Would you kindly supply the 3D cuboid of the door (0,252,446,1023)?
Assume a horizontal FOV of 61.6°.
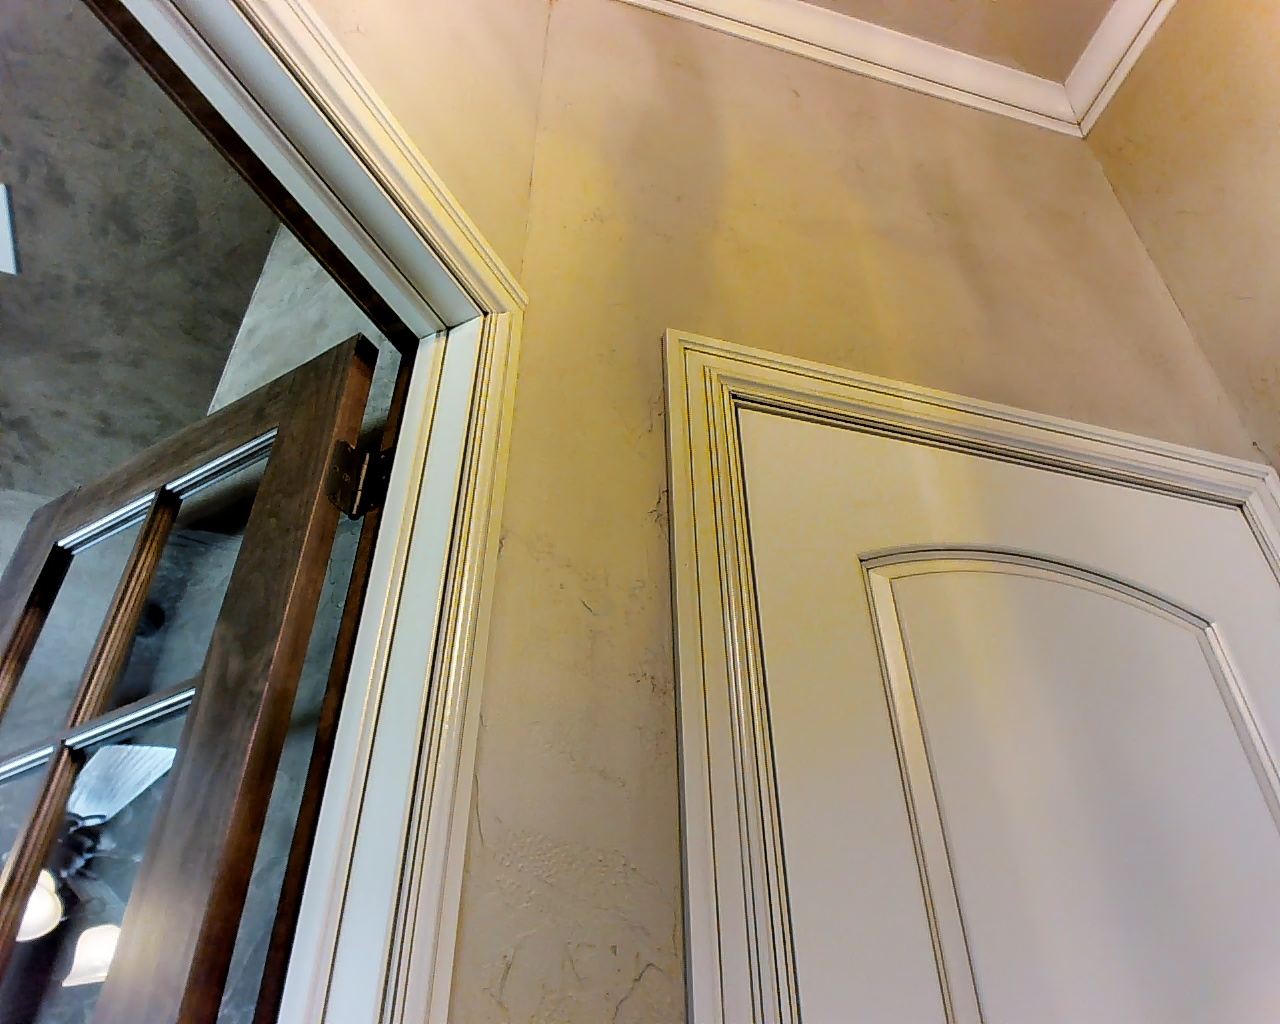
[{"bbox_3d":[-0.560,0.780,0.650,0.630,2.571,0.160,-20,-45,20],"label":"door"}]
